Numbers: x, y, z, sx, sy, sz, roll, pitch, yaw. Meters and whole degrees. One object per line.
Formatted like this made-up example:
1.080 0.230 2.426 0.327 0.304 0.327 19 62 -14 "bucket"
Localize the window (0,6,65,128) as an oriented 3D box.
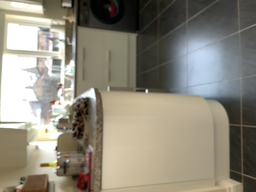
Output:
-1.620 -0.430 3.570 0.370 0.990 1.880 180 91 -71 "window"
